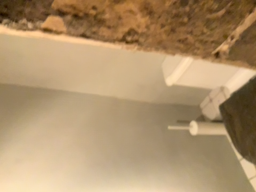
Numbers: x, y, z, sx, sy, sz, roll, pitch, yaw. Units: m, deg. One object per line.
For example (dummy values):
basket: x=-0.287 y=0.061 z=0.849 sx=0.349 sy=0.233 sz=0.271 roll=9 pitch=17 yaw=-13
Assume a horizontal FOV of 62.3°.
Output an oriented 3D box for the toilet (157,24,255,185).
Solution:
toilet: x=0.650 y=0.070 z=1.180 sx=0.410 sy=0.760 sz=0.700 roll=120 pitch=150 yaw=-51
